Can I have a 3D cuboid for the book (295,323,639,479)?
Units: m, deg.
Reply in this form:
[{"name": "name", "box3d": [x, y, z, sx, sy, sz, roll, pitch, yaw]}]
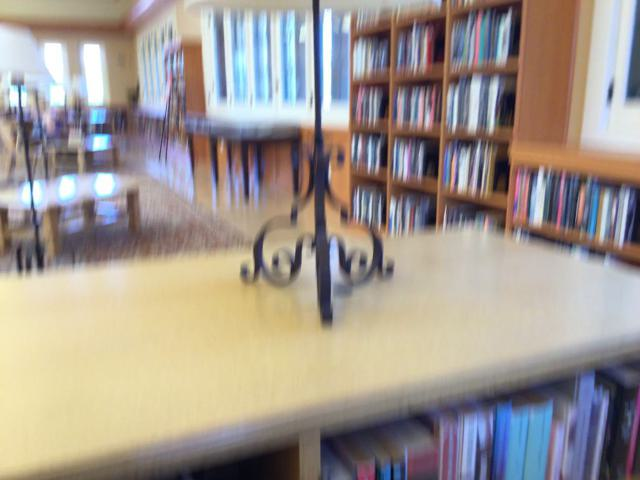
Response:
[{"name": "book", "box3d": [0.310, 0.380, 1.030, 0.680, 0.320, 0.170, -6, 15, -21]}]
